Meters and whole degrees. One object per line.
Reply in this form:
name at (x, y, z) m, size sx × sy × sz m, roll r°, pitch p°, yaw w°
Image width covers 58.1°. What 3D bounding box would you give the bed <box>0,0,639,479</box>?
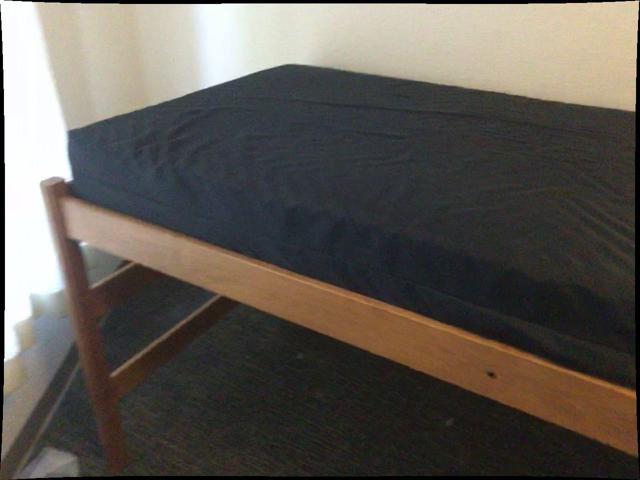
bed at (0.439, 0.270, 1.450) m, size 2.387 × 1.332 × 1.050 m, roll 20°, pitch 31°, yaw 22°
